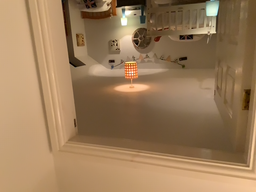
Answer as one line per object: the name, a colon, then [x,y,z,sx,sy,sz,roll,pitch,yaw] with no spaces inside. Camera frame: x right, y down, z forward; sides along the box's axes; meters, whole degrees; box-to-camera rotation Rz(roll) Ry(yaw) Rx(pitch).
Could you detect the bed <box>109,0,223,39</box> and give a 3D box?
bed: [0.830,-1.850,3.840,1.570,1.490,2.230,3,-164,20]
